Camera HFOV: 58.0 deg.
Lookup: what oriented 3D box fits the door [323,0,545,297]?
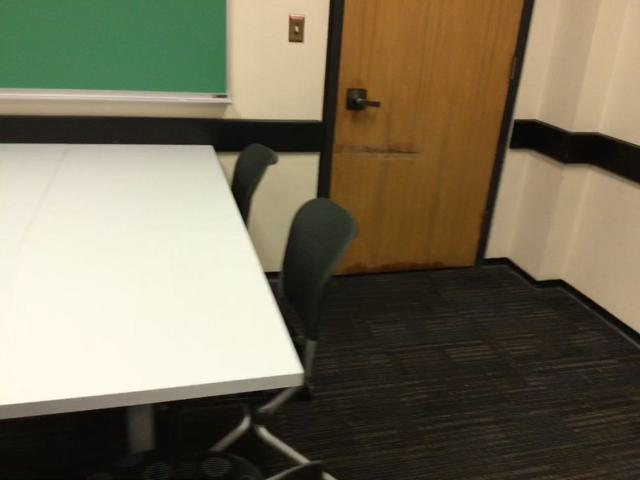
[{"bbox_3d":[0.540,-0.820,2.740,0.900,2.180,0.290,-4,22,-18],"label":"door"}]

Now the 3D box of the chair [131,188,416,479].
[{"bbox_3d":[-0.180,0.270,1.680,0.650,0.690,0.570,-4,22,-18],"label":"chair"}]

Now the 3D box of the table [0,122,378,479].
[{"bbox_3d":[-0.860,0.200,1.800,1.400,0.820,1.810,-3,21,-18],"label":"table"}]
